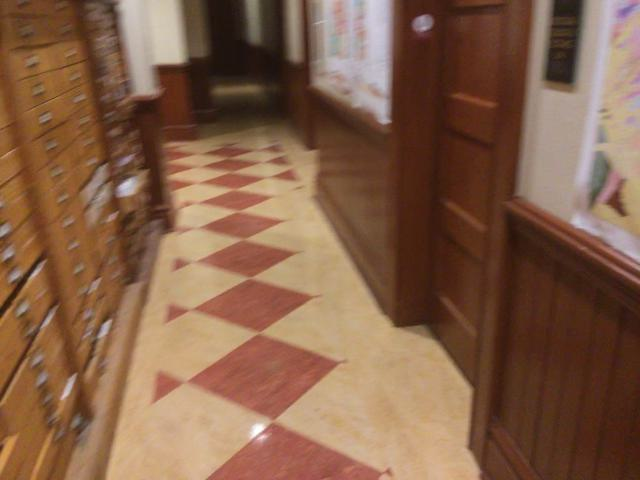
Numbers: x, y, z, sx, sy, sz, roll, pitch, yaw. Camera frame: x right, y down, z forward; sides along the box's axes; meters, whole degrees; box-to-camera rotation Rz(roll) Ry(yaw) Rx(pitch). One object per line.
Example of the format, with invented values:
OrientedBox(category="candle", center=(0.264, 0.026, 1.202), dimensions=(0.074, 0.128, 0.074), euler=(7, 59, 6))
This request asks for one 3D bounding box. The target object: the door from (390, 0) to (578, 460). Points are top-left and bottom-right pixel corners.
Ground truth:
OrientedBox(category="door", center=(0.500, -0.350, 2.080), dimensions=(0.210, 2.050, 0.910), euler=(-6, 23, -9))

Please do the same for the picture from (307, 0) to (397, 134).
OrientedBox(category="picture", center=(0.120, -1.220, 3.240), dimensions=(0.080, 0.890, 1.790), euler=(-6, 23, -9))
